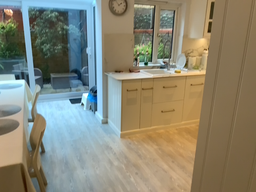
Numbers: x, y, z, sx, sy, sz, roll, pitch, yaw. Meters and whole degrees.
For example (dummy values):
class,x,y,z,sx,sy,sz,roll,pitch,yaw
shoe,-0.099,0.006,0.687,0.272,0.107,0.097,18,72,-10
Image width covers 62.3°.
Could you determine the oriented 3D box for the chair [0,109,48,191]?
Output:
class,x,y,z,sx,sy,sz,roll,pitch,yaw
chair,-1.020,0.590,1.760,0.610,0.750,0.570,-5,18,-22
